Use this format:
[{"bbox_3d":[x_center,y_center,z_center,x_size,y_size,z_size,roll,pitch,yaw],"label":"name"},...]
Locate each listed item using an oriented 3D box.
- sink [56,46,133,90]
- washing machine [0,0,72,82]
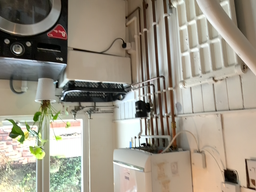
[{"bbox_3d":[-0.330,-0.230,2.010,0.600,0.270,0.440,2,172,-30],"label":"sink"},{"bbox_3d":[-0.820,-0.610,1.590,0.590,0.850,0.770,2,172,-30],"label":"washing machine"}]
